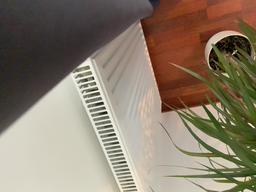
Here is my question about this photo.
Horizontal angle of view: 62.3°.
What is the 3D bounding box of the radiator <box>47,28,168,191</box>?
[{"bbox_3d":[0.030,0.060,0.970,0.150,0.860,0.560,-14,114,15],"label":"radiator"}]
